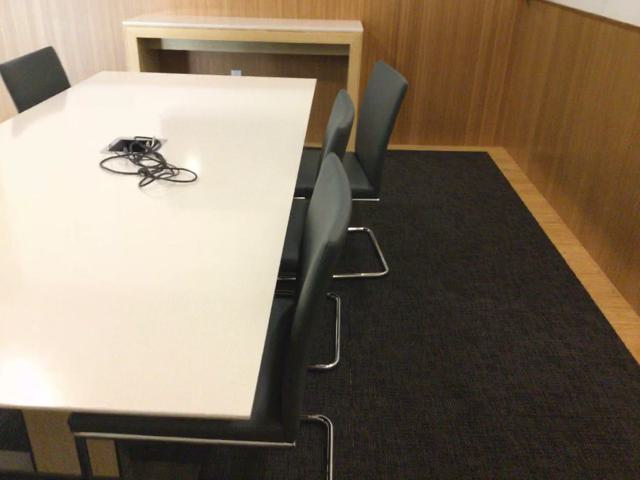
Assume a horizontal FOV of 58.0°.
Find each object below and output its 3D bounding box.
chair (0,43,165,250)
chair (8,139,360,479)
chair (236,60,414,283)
[{"bbox_3d":[-1.040,-0.410,2.530,0.560,0.770,0.430,2,28,-1],"label":"chair"},{"bbox_3d":[-0.240,0.230,1.360,0.580,0.780,0.500,3,28,-1],"label":"chair"},{"bbox_3d":[-0.030,-0.300,2.420,0.620,0.760,0.560,-1,28,-8],"label":"chair"}]
